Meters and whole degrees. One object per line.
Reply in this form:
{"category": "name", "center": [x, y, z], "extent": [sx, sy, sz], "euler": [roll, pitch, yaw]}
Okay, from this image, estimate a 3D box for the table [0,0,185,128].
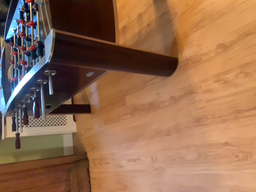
{"category": "table", "center": [-0.560, -0.360, 1.860], "extent": [1.700, 0.880, 0.920], "euler": [-26, 68, 48]}
